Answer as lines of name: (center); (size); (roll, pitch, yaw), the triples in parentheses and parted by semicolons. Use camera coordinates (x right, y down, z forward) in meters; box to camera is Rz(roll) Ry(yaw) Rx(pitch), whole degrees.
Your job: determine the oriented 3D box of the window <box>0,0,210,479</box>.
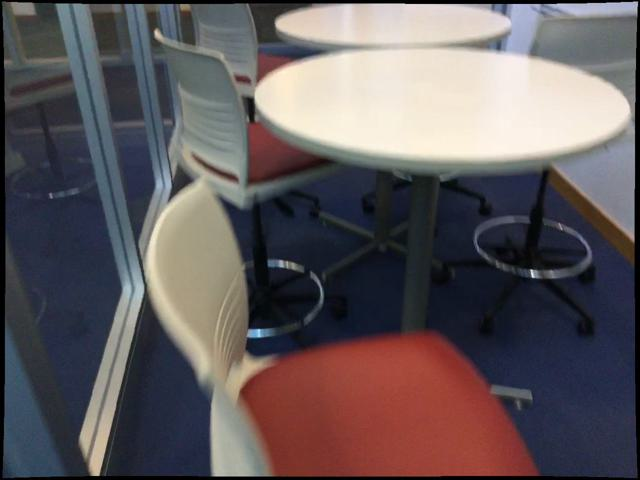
window: (-0.749, -0.611, 2.420); (0.230, 1.451, 3.071); (-4, 33, -5)
